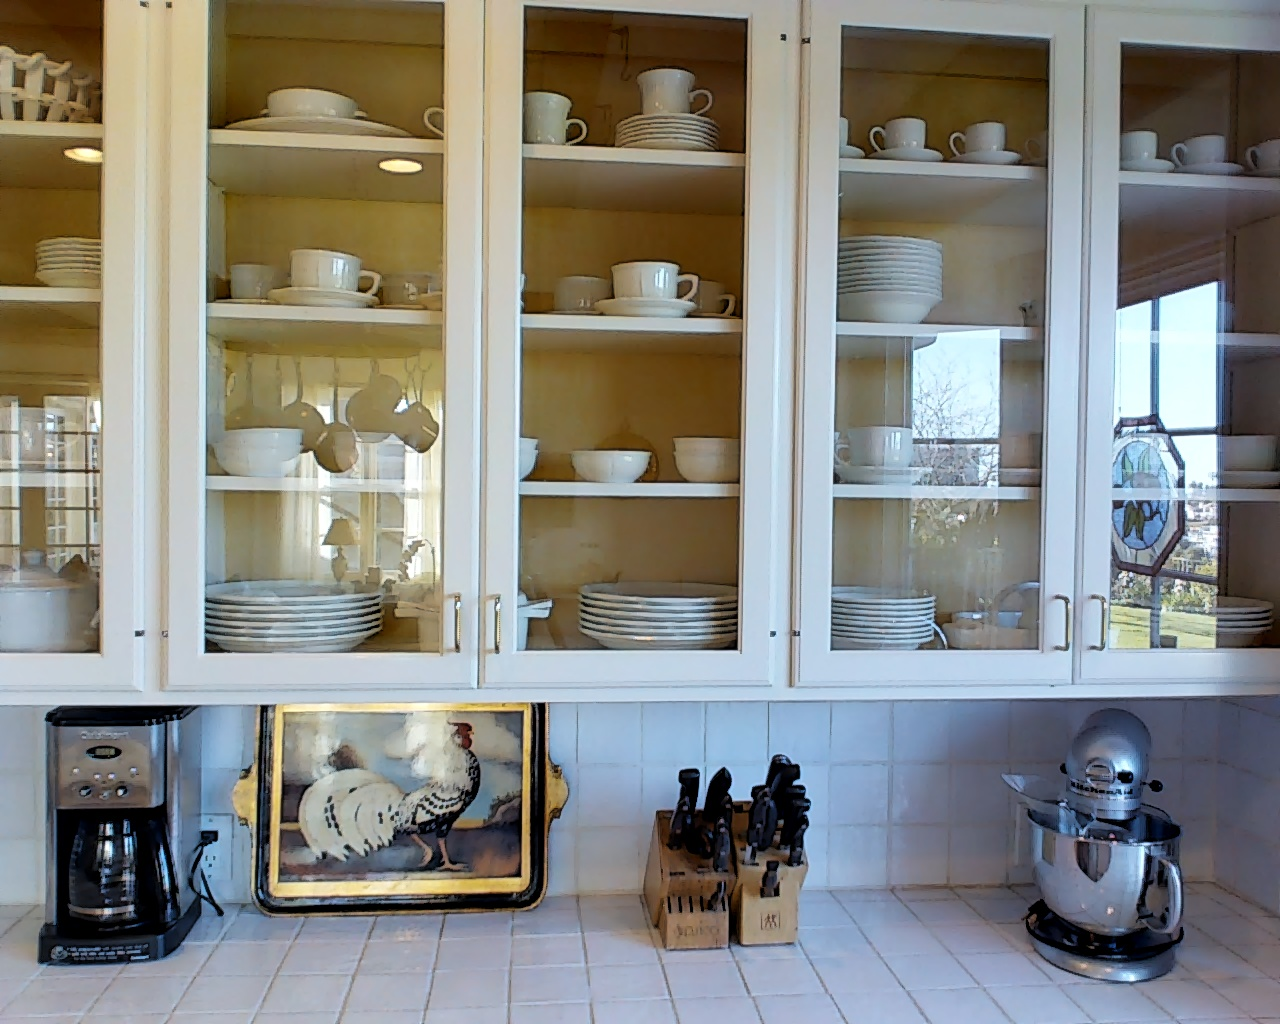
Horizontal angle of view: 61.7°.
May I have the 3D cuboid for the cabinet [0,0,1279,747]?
[{"bbox_3d":[-0.240,-0.320,1.690,2.749,1.280,0.400,1,2,-5],"label":"cabinet"}]
